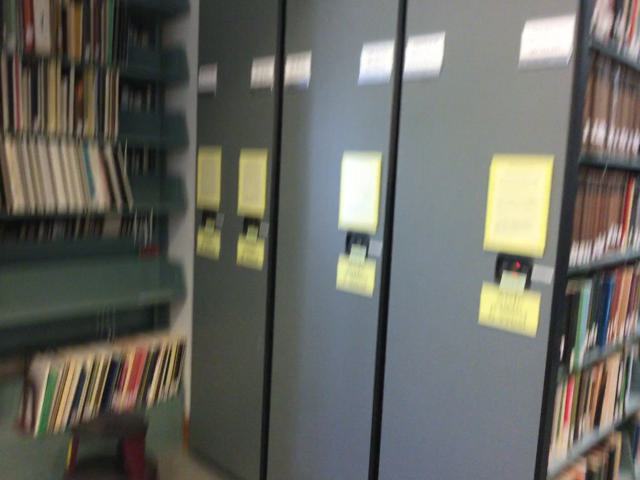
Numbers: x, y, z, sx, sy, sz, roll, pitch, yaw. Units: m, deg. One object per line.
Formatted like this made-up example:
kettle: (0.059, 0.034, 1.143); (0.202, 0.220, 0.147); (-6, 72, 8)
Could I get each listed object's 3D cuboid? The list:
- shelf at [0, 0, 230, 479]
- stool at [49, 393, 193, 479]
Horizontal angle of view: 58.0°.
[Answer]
shelf: (-1.050, -0.210, 2.460); (1.040, 2.440, 0.740); (-4, 9, -43)
stool: (-0.790, 0.890, 2.280); (0.380, 0.360, 0.460); (-4, 9, -43)
